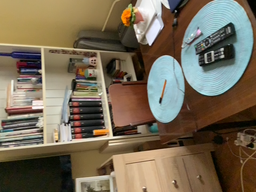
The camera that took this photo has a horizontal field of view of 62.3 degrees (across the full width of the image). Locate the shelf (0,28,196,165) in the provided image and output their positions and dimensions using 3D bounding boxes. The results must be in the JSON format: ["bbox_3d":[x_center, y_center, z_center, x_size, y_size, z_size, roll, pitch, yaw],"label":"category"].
[{"bbox_3d":[-0.510,-0.010,1.950,0.400,2.160,1.040,130,134,-56],"label":"shelf"}]

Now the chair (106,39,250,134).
[{"bbox_3d":[0.340,-0.040,1.660,0.560,0.840,0.450,127,137,-55],"label":"chair"}]
